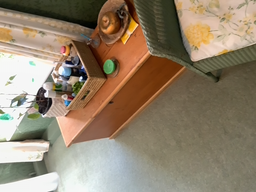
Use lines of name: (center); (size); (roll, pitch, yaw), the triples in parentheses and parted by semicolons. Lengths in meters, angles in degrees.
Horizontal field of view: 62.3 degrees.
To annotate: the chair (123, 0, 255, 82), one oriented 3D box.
chair: (0.420, -0.450, 0.920); (0.600, 0.660, 0.640); (-9, 82, 42)
